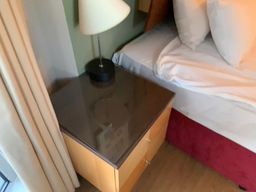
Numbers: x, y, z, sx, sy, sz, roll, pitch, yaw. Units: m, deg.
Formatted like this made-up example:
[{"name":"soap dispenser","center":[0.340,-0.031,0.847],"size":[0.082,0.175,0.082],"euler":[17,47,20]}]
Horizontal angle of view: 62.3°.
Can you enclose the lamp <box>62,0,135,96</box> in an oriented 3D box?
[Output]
[{"name":"lamp","center":[-0.120,-0.260,1.030],"size":[0.200,0.440,0.230],"euler":[29,52,24]}]
